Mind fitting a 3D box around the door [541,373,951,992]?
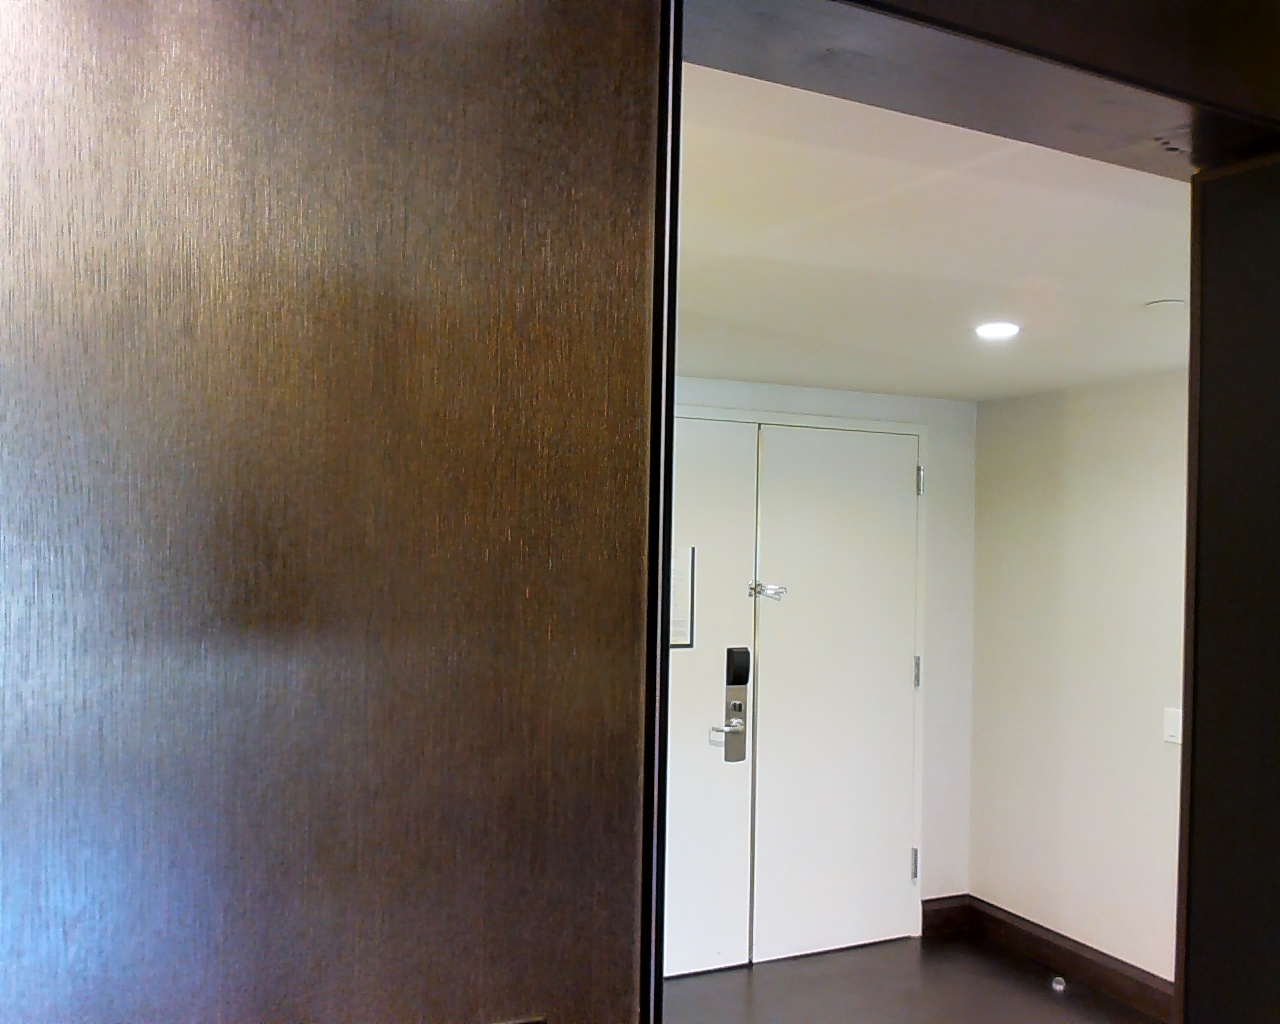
[{"bbox_3d":[0.460,0.600,4.050,1.660,2.100,0.100,2,-1,-25],"label":"door"}]
